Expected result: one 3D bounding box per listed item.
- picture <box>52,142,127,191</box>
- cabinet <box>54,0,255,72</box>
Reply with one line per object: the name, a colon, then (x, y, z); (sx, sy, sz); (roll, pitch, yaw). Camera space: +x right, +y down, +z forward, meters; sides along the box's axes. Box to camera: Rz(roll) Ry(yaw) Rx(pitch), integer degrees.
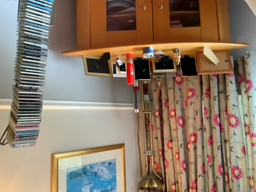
picture: (-0.290, 0.810, 1.840); (0.760, 0.710, 0.020); (3, 173, -45)
cabinet: (0.200, -0.670, 1.690); (1.110, 0.660, 1.150); (3, 173, -45)
